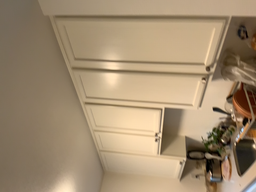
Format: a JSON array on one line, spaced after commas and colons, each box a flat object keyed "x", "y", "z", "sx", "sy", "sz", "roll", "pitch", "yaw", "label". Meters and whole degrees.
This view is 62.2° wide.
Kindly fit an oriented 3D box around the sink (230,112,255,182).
[{"x": 1.220, "y": 0.500, "z": 2.000, "sx": 0.590, "sy": 0.260, "sz": 0.410, "roll": 84, "pitch": -166, "yaw": -50, "label": "sink"}]
